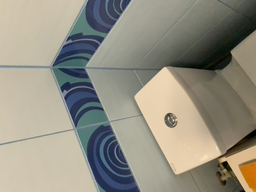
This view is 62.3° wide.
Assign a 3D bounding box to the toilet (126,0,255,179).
[{"bbox_3d":[0.560,-0.090,0.840,0.690,0.840,0.350,-43,66,38],"label":"toilet"}]
